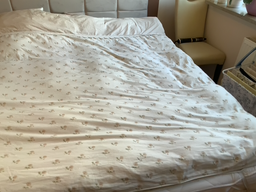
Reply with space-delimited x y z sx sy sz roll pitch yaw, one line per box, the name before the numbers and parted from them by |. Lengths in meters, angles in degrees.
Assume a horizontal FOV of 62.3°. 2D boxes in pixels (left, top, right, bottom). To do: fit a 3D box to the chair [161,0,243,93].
chair | 0.780 -0.620 2.500 0.460 0.890 0.680 -6 38 -12
